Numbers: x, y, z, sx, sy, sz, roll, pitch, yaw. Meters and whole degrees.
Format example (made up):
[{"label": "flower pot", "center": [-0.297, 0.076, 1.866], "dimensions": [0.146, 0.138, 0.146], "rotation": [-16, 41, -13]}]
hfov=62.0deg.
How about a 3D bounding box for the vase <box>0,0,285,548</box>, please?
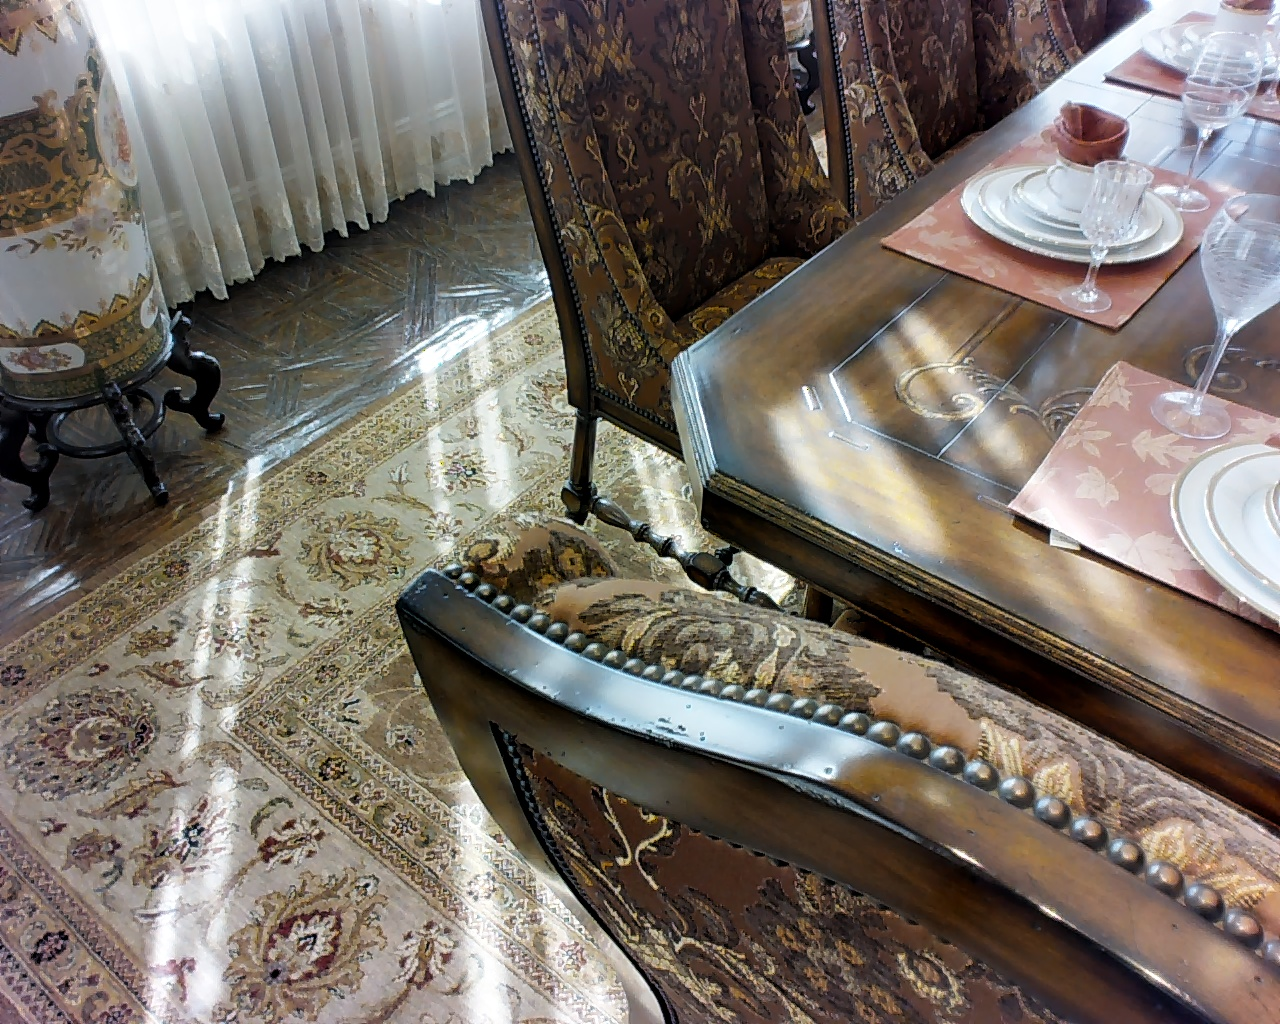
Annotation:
[{"label": "vase", "center": [-1.150, -0.650, 1.880], "dimensions": [0.560, 1.370, 0.520], "rotation": [9, 42, 9]}]
